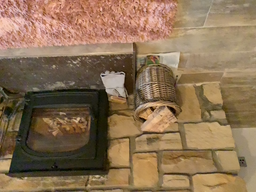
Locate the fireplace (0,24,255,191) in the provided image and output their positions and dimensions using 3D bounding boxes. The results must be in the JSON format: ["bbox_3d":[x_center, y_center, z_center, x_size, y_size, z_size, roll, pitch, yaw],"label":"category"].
[{"bbox_3d":[-0.350,0.350,1.460,2.510,0.960,1.170,-2,150,0],"label":"fireplace"}]
